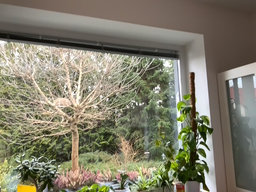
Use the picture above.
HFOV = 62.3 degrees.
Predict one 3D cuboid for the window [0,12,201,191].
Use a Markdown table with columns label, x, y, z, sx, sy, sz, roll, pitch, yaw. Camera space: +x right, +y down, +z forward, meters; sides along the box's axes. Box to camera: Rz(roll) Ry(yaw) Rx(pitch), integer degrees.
| label | x | y | z | sx | sy | sz | roll | pitch | yaw |
| --- | --- | --- | --- | --- | --- | --- | --- | --- | --- |
| window | -0.210 | 0.150 | 1.810 | 1.880 | 1.460 | 0.160 | 1 | -7 | -25 |
